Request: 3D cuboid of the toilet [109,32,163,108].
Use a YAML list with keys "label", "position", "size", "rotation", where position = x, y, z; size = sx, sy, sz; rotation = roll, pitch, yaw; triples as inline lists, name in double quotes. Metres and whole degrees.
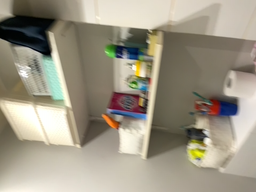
- label: "toilet"
  position: [0.030, -0.110, 0.950]
  size: [0.130, 0.200, 0.290]
  rotation: [-76, -8, -47]
